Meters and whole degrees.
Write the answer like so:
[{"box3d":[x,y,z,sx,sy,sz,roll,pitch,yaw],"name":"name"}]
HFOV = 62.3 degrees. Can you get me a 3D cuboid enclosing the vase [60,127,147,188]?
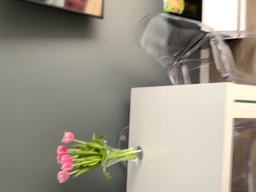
[{"box3d":[-0.140,0.330,1.240,0.190,0.470,0.280,167,104,-65],"name":"vase"}]
